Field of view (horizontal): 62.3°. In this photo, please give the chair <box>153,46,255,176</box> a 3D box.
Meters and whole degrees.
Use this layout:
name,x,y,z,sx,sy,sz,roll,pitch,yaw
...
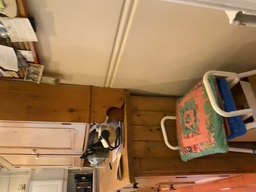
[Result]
name,x,y,z,sx,sy,sz,roll,pitch,yaw
chair,0.570,0.120,1.160,0.440,0.700,0.530,117,153,-60
